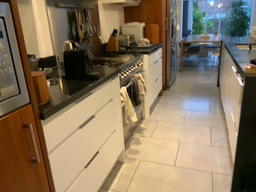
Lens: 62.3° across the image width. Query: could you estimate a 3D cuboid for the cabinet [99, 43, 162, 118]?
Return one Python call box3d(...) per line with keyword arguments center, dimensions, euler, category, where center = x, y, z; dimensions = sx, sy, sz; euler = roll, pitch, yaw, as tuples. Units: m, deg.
box3d(center=(0.110, -0.310, 3.340), dimensions=(0.690, 0.930, 0.950), euler=(4, 20, 18), category="cabinet")
